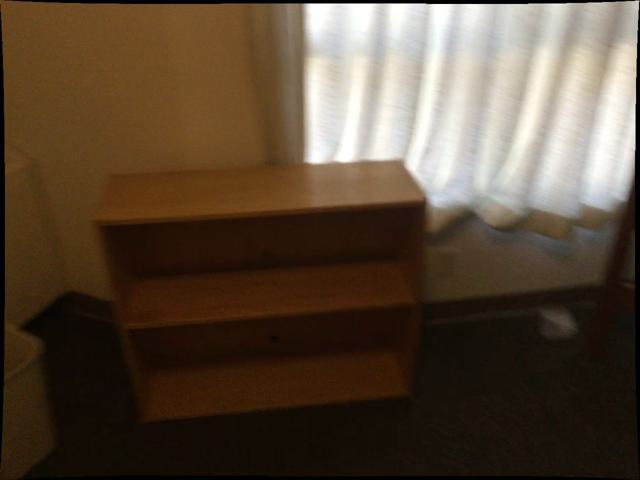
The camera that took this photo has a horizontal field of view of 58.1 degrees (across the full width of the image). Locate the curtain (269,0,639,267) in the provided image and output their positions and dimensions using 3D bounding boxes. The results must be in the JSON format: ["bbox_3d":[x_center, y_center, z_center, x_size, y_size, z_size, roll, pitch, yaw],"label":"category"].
[{"bbox_3d":[0.709,-0.661,1.740,1.667,1.421,0.280,-10,41,0],"label":"curtain"}]
